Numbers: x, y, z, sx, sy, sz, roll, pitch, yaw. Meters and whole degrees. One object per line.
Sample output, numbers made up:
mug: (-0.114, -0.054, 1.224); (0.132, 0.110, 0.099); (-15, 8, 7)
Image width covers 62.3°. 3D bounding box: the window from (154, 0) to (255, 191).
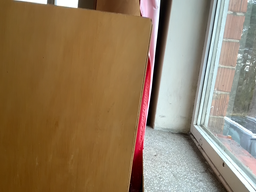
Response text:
window: (0.390, -0.340, 0.500); (0.350, 1.500, 1.580); (7, 9, 2)
